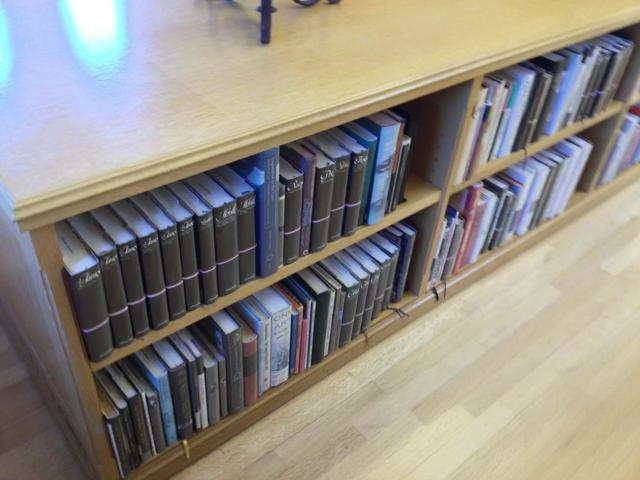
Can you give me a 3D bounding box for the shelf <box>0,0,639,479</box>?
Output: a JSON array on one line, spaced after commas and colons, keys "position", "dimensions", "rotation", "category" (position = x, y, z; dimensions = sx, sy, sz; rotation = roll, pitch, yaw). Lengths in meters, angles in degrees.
[{"position": [0.400, -0.460, 1.770], "dimensions": [2.710, 0.870, 0.860], "rotation": [-26, 48, -30], "category": "shelf"}]
